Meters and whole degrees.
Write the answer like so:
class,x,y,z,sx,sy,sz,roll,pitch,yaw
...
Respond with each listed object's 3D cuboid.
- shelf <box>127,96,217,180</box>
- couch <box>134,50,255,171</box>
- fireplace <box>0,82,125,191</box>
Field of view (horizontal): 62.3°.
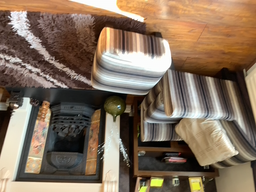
class,x,y,z,sx,sy,sz,roll,pitch,yaw
shelf,0.460,0.500,2.540,0.910,0.880,0.380,3,152,-4
couch,0.580,0.200,2.020,0.860,0.830,0.770,7,152,-12
fireplace,-0.720,0.550,2.290,1.320,1.190,0.580,3,152,-4
